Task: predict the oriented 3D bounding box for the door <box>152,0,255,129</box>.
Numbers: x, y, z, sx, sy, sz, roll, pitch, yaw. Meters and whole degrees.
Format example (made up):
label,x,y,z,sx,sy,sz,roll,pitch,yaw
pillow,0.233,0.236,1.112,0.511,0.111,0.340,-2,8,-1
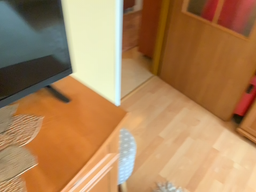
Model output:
label,x,y,z,sx,sy,sz,roll,pitch,yaw
door,0.640,-0.720,1.500,0.130,2.050,0.870,-26,50,-28
